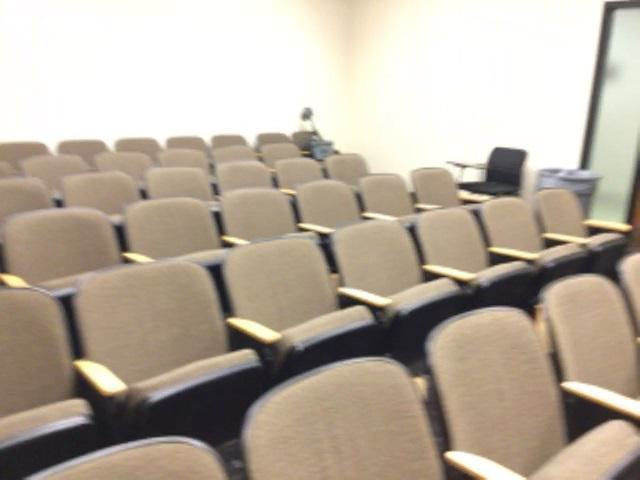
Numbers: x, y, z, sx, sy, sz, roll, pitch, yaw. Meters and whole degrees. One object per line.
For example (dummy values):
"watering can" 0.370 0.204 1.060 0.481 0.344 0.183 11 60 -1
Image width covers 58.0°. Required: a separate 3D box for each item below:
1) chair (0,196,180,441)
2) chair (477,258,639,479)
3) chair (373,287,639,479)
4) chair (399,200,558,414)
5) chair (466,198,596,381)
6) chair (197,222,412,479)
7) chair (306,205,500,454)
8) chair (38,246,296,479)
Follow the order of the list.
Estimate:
"chair" -1.020 0.290 2.520 0.580 0.840 0.470 -13 19 -39
"chair" 0.940 0.540 1.880 0.590 0.770 0.560 -13 18 -38
"chair" 0.550 0.620 1.580 0.590 0.760 0.550 -13 19 -39
"chair" 0.760 0.280 2.820 0.540 0.830 0.490 -13 19 -39
"chair" 1.100 0.230 3.050 0.420 0.810 0.440 -13 19 -39
"chair" -0.060 0.420 2.250 0.540 0.820 0.600 -13 19 -39
"chair" 0.350 0.330 2.540 0.570 0.830 0.580 -13 19 -39
"chair" -0.490 0.500 1.910 0.570 0.780 0.570 -13 19 -39
